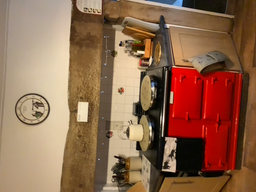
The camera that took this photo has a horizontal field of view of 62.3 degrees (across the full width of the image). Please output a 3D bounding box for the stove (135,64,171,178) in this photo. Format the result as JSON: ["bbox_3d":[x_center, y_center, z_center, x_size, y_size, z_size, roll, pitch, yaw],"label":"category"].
[{"bbox_3d":[0.240,0.220,2.260,0.690,0.100,1.030,-172,85,-77],"label":"stove"}]
